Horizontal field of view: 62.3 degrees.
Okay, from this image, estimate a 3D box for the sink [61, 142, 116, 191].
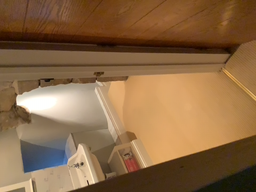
[{"bbox_3d":[-0.430,0.950,2.240,0.710,0.350,0.470,62,143,34],"label":"sink"}]
